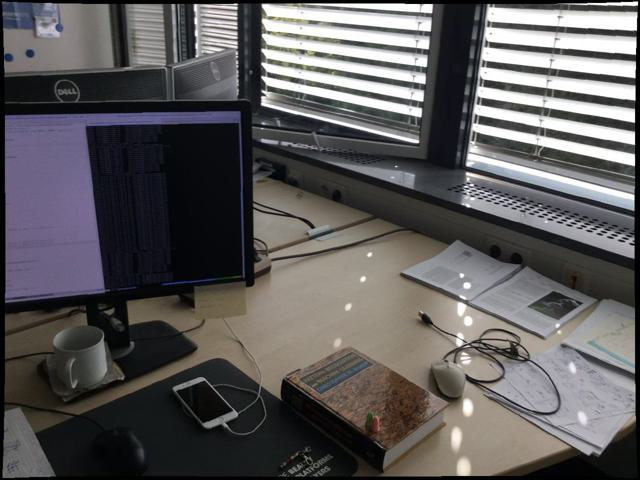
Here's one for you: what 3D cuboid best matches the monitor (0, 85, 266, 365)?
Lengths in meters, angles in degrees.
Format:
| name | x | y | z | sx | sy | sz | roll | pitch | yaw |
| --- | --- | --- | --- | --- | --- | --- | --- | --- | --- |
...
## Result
| name | x | y | z | sx | sy | sz | roll | pitch | yaw |
| --- | --- | --- | --- | --- | --- | --- | --- | --- | --- |
| monitor | -0.410 | -0.030 | 1.030 | 0.609 | 0.440 | 0.130 | -8 | 27 | -20 |

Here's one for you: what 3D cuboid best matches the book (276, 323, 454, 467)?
| name | x | y | z | sx | sy | sz | roll | pitch | yaw |
| --- | --- | --- | --- | --- | --- | --- | --- | --- | --- |
| book | 0.080 | 0.270 | 1.070 | 0.250 | 0.060 | 0.210 | 24 | 33 | 39 |

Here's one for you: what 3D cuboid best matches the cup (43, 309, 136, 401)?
| name | x | y | z | sx | sy | sz | roll | pitch | yaw |
| --- | --- | --- | --- | --- | --- | --- | --- | --- | --- |
| cup | -0.430 | 0.210 | 1.080 | 0.120 | 0.090 | 0.110 | 24 | 33 | 39 |
